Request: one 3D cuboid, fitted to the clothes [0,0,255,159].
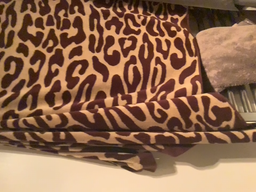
[{"bbox_3d":[0.080,-0.130,0.670,0.150,1.160,0.590,96,172,-63],"label":"clothes"}]
